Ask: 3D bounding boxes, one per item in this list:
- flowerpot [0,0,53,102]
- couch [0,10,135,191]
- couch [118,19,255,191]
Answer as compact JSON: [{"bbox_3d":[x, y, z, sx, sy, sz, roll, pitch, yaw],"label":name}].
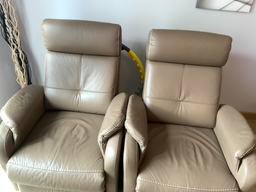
[{"bbox_3d":[-0.900,-0.530,1.690,0.340,1.200,0.290,7,38,2],"label":"flowerpot"},{"bbox_3d":[-0.390,0.070,1.470,0.760,0.960,0.930,6,38,0],"label":"couch"},{"bbox_3d":[0.360,0.160,1.440,0.750,0.980,0.950,6,38,0],"label":"couch"}]
